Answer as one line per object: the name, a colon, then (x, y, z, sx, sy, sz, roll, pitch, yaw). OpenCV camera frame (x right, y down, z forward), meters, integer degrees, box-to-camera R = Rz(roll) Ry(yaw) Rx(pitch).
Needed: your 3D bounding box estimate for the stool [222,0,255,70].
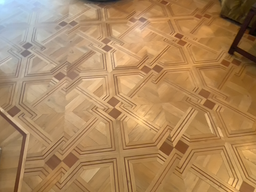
stool: (1.180, -0.560, 1.760, 0.420, 0.480, 0.480, 38, 60, 23)
